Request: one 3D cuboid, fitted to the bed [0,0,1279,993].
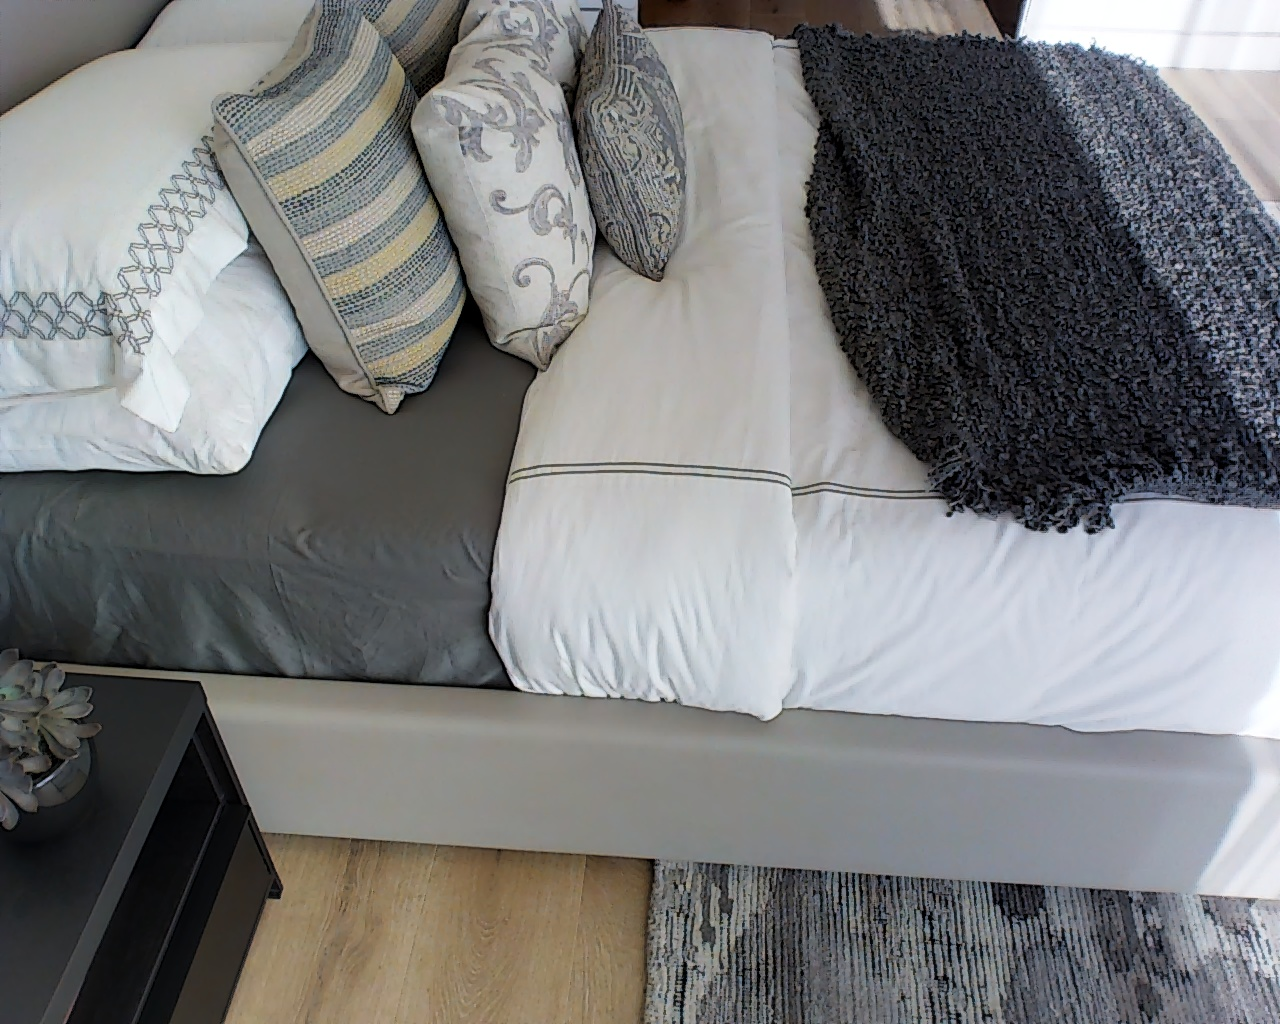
[{"bbox_3d":[0.170,-0.300,2.190,2.269,0.700,2.090,4,43,4],"label":"bed"}]

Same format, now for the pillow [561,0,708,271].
[{"bbox_3d":[0.000,-0.680,1.900,0.220,0.260,0.540,1,42,1],"label":"pillow"}]

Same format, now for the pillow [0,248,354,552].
[{"bbox_3d":[-0.730,-0.170,1.470,0.540,0.170,0.420,4,43,4],"label":"pillow"}]

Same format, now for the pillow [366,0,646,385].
[{"bbox_3d":[-0.170,-0.540,1.700,0.290,0.410,0.550,5,43,5],"label":"pillow"}]

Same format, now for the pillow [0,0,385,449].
[{"bbox_3d":[-0.730,-0.470,1.510,0.480,0.210,0.910,4,43,4],"label":"pillow"}]

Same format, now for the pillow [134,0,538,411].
[{"bbox_3d":[-0.400,-0.550,1.670,0.320,0.440,0.680,5,43,6],"label":"pillow"}]
